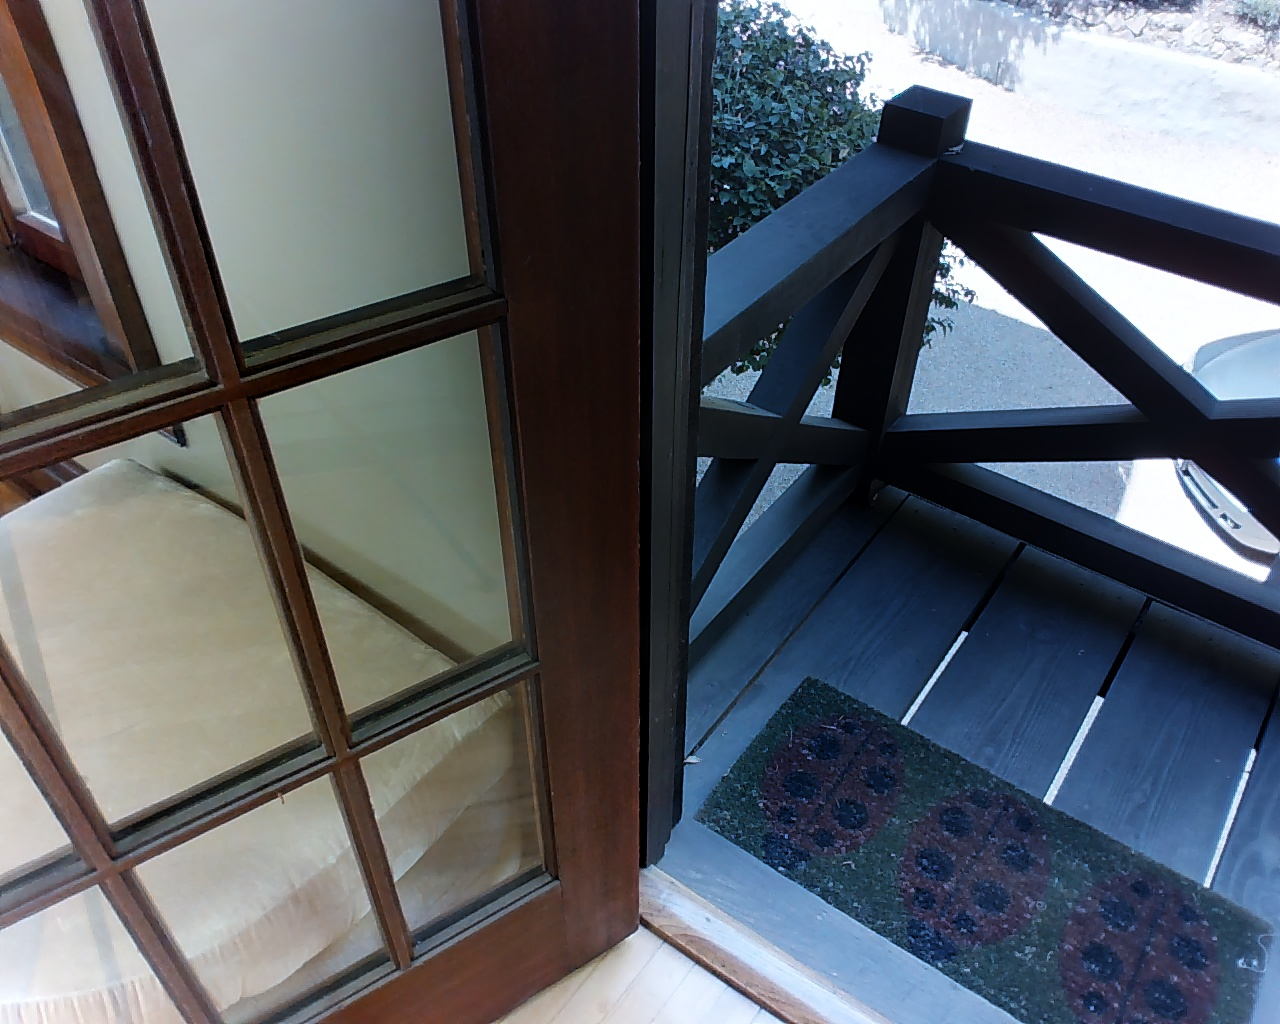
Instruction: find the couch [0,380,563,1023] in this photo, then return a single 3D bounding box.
[{"bbox_3d":[-0.780,0.380,1.560,1.000,0.500,0.850,26,48,27],"label":"couch"}]
